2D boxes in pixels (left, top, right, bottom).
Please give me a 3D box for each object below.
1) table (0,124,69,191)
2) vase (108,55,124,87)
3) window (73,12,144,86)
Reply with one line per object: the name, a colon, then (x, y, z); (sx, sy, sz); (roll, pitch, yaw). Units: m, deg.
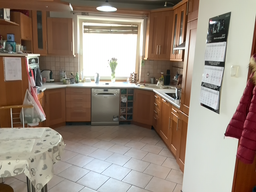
table: (-1.190, 0.720, 1.850); (1.210, 0.740, 0.760); (1, 11, -9)
vase: (-0.300, -0.600, 5.050); (0.300, 0.710, 0.420); (0, 11, -10)
window: (-0.470, -1.060, 4.970); (1.570, 1.580, 0.260); (1, 11, -9)
